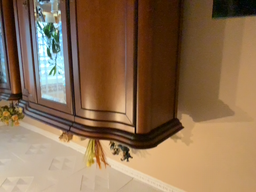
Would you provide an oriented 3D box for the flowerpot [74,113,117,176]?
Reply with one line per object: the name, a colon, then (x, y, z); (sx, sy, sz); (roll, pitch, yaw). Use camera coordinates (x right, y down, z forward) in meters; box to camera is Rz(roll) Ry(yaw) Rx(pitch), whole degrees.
flowerpot: (-0.270, 0.400, 1.830); (0.220, 0.420, 0.290); (10, -164, 36)
